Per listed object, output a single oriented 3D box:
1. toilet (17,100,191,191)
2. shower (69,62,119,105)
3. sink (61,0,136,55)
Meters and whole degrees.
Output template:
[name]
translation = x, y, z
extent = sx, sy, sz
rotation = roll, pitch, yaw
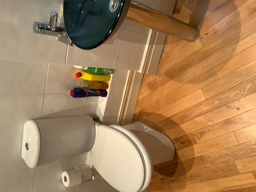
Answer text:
[toilet]
translation = -0.150, 0.370, 1.440
extent = 0.680, 0.880, 0.400
rotation = 31, 113, 40
[shower]
translation = -0.240, -0.090, 1.500
extent = 0.140, 0.280, 0.250
rotation = 29, 112, 41
[sink]
translation = -0.130, -0.450, 0.980
extent = 0.290, 0.180, 0.450
rotation = 26, 110, 42
